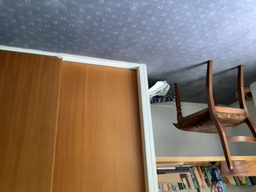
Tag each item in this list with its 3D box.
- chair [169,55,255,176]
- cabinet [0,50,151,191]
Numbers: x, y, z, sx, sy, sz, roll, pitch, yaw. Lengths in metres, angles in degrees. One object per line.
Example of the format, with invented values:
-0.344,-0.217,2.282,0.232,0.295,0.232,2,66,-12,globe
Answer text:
0.740,0.190,1.800,0.480,0.870,0.500,4,156,-17,chair
-0.410,0.520,1.200,1.160,1.690,0.050,5,156,-19,cabinet
